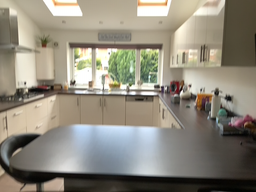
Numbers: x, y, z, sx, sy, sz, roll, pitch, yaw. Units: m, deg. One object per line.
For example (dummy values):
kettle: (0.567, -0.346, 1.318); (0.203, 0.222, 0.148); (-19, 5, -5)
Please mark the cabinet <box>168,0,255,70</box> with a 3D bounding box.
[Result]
cabinet: (1.020, -0.800, 3.270); (0.330, 0.730, 3.130); (2, 8, 3)
